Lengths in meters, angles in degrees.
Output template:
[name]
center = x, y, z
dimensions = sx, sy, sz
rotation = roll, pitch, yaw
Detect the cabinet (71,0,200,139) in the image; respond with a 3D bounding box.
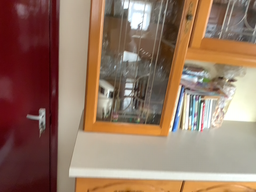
[cabinet]
center = 0.030, -0.440, 1.090
dimensions = 0.540, 1.310, 0.320
rotation = 5, 21, -9
